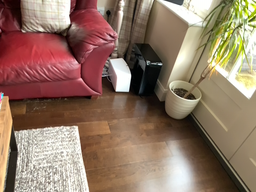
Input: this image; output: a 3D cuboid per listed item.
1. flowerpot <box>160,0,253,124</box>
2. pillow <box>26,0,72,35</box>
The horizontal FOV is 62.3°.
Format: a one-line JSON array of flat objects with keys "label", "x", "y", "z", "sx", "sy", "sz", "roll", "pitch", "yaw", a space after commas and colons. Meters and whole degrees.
[{"label": "flowerpot", "x": 0.520, "y": -0.240, "z": 1.630, "sx": 0.190, "sy": 1.020, "sz": 0.260, "roll": -1, "pitch": 40, "yaw": -18}, {"label": "pillow", "x": -0.630, "y": -0.700, "z": 1.710, "sx": 0.320, "sy": 0.340, "sz": 0.200, "roll": -2, "pitch": 33, "yaw": -19}]
